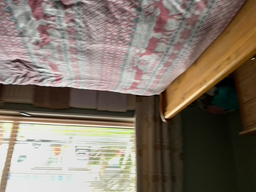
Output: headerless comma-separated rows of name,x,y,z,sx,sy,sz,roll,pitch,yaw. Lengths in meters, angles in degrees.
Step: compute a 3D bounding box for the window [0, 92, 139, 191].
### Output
window,-0.750,0.920,2.260,1.780,1.920,0.070,5,158,-11
